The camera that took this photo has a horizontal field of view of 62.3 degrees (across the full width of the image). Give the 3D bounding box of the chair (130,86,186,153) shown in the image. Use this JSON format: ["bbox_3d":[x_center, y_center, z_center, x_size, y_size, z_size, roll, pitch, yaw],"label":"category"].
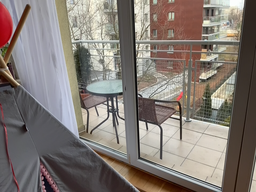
[{"bbox_3d":[0.360,0.250,2.530,0.490,0.580,0.420,11,24,34],"label":"chair"}]
